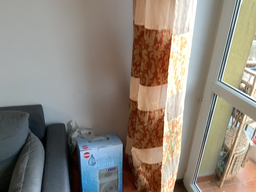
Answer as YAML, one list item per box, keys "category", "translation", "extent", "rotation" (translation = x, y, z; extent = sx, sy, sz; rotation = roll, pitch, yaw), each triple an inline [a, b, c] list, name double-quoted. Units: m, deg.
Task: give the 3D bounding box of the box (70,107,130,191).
- category: "box"
  translation: [-0.210, 0.390, 1.370]
  extent: [0.290, 0.390, 0.570]
  rotation: [-3, 26, -14]
